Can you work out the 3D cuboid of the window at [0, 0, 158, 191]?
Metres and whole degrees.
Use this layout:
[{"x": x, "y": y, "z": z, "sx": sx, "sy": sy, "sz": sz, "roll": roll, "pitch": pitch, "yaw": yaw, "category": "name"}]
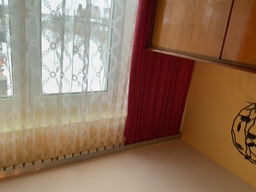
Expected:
[{"x": -0.430, "y": -0.340, "z": 1.130, "sx": 1.330, "sy": 1.820, "sz": 0.160, "roll": -5, "pitch": -159, "yaw": -34, "category": "window"}]
